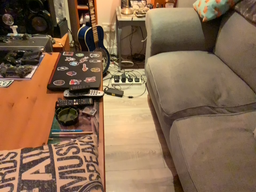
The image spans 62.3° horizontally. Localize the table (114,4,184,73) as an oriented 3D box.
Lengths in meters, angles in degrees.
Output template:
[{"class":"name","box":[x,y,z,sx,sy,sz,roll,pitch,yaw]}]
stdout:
[{"class":"table","box":[0.170,-0.600,2.210,0.590,0.550,0.440,-2,39,-7]}]
